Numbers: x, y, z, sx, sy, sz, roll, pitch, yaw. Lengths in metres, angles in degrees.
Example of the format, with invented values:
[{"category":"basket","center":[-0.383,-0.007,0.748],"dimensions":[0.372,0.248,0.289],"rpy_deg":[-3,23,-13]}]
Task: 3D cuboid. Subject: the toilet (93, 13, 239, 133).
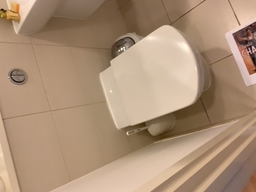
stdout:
[{"category":"toilet","center":[0.190,-0.090,1.150],"dimensions":[0.550,0.430,0.370],"rpy_deg":[-26,79,41]}]
